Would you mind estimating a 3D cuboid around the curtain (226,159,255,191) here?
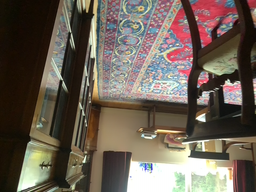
[{"bbox_3d":[2.040,1.880,3.670,0.480,1.490,0.200,5,163,-3],"label":"curtain"}]
